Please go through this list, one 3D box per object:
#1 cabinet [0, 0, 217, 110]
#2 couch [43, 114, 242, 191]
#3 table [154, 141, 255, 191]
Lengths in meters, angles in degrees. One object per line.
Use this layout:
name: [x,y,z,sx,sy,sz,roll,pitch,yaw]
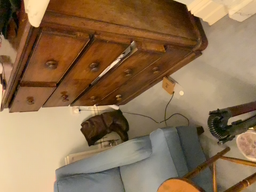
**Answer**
cabinet: [-0.310,-0.400,1.690,1.380,1.170,0.580,-30,68,49]
couch: [0.090,1.030,1.500,1.220,0.850,1.480,-28,70,49]
table: [0.500,0.470,1.070,0.340,0.690,0.320,0,92,52]
